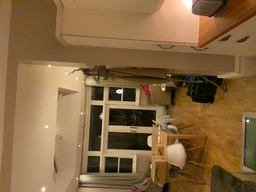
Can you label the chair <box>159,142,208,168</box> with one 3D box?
[{"bbox_3d":[1.010,1.080,3.930,0.380,0.780,0.400,116,157,-80],"label":"chair"}]
